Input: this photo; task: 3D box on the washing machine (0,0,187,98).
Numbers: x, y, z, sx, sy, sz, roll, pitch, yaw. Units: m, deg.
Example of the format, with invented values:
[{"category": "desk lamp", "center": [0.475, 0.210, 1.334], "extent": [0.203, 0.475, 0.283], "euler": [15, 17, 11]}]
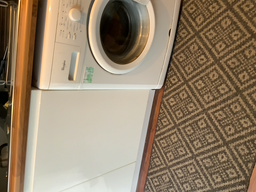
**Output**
[{"category": "washing machine", "center": [-0.230, -0.380, 1.200], "extent": [0.660, 0.910, 0.590], "euler": [19, 105, 40]}]

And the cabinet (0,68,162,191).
[{"category": "cabinet", "center": [-0.390, 0.420, 1.370], "extent": [0.610, 0.920, 1.070], "euler": [19, 105, 40]}]
